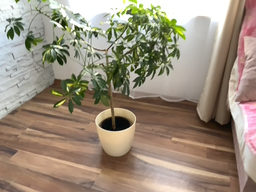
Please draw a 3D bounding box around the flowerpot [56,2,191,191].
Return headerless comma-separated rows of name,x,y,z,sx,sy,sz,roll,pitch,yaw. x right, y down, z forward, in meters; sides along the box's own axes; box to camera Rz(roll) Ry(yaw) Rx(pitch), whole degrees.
flowerpot,0.050,-0.070,1.210,0.410,0.780,0.710,11,31,18
